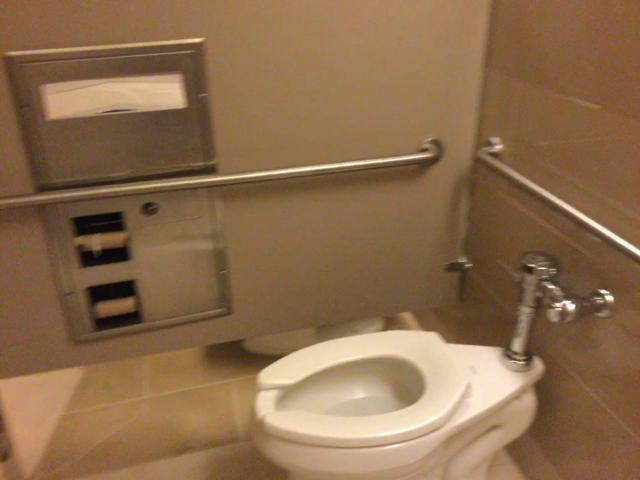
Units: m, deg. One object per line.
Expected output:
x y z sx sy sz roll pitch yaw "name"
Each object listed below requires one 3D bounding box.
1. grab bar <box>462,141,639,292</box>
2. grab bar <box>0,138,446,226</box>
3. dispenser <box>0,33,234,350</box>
0.550 -0.040 1.180 0.100 0.080 0.960 -7 25 -11 "grab bar"
-0.290 -0.150 1.470 1.270 0.090 0.080 -7 25 -11 "grab bar"
-0.490 -0.110 1.520 0.440 0.790 0.130 -7 25 -11 "dispenser"
